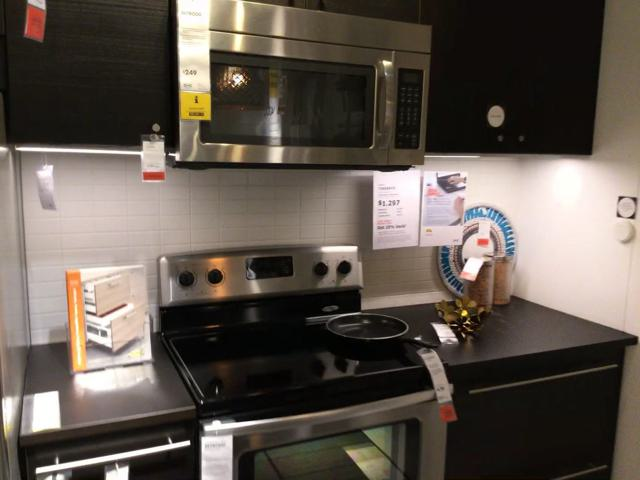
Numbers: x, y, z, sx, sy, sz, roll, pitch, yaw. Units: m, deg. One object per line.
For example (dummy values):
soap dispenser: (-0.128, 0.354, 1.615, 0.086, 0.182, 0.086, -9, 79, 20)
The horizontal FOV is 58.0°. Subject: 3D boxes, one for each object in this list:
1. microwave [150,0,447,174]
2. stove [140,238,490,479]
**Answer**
microwave: (-0.080, -0.450, 1.790, 0.790, 0.470, 0.480, -4, 7, -21)
stove: (-0.050, 0.650, 1.870, 0.900, 1.200, 0.690, -4, 7, -21)
